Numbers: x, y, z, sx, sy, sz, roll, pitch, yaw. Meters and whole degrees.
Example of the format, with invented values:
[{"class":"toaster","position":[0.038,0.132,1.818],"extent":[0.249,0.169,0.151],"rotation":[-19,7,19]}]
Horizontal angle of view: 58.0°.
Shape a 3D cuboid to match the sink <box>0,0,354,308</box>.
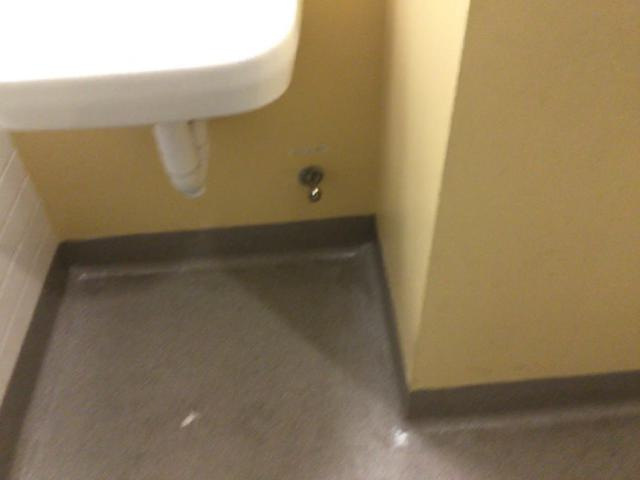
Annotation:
[{"class":"sink","position":[-0.260,-0.240,1.070],"extent":[0.590,0.510,0.470],"rotation":[-4,44,-2]}]
